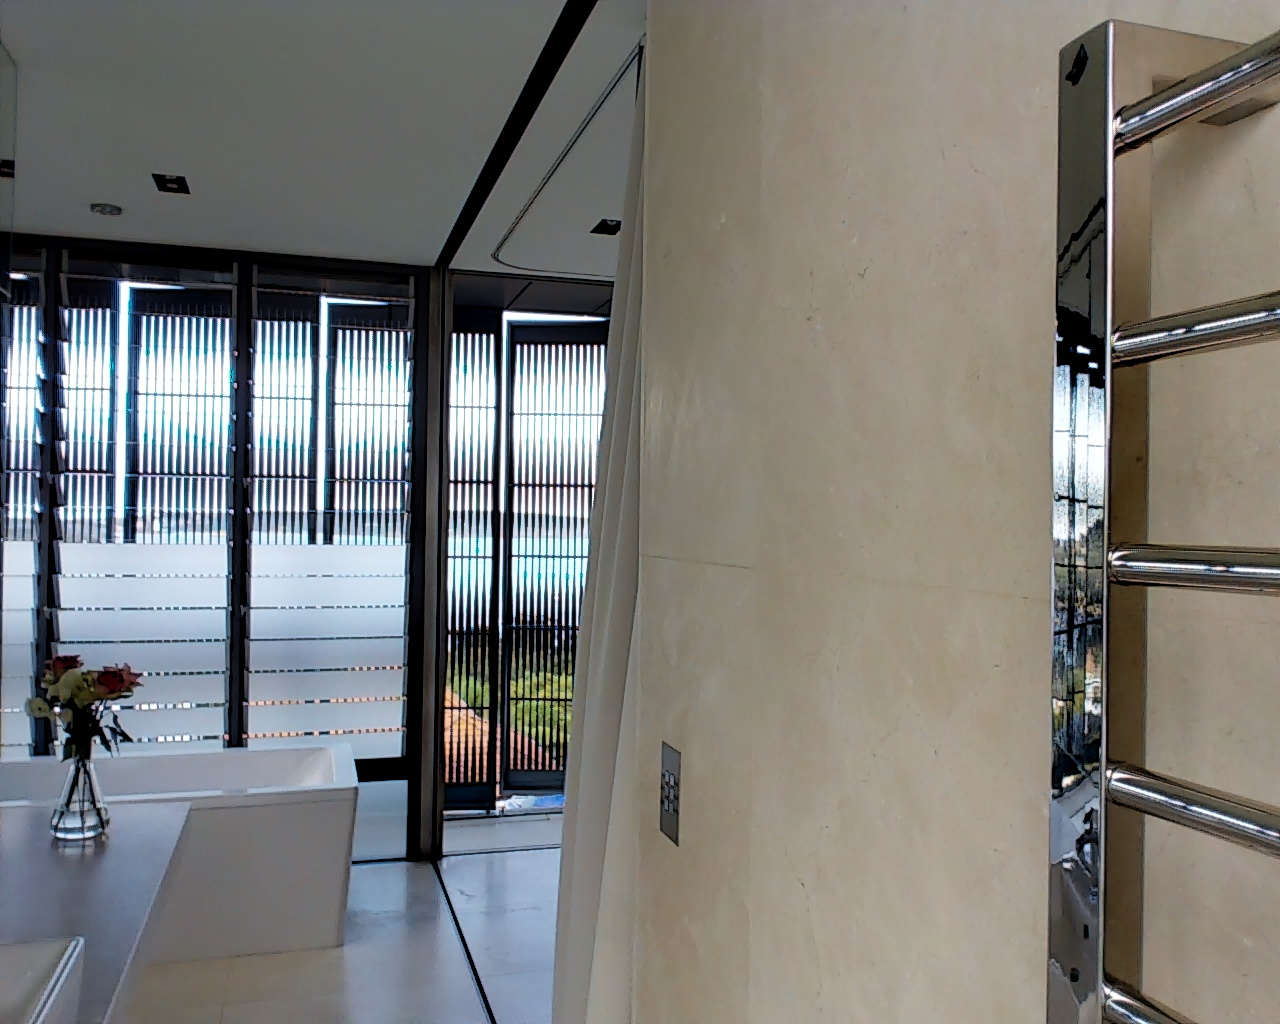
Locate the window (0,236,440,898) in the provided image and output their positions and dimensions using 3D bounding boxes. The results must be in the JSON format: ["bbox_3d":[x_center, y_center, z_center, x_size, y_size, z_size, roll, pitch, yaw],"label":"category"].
[{"bbox_3d":[-2.069,0.230,4.510,2.359,2.671,0.090,1,-1,-16],"label":"window"}]

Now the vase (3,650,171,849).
[{"bbox_3d":[-1.310,0.550,2.560,0.290,0.400,0.310,1,-1,-15],"label":"vase"}]

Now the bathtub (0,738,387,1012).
[{"bbox_3d":[-1.939,1.300,3.980,1.889,0.660,0.910,1,-1,-16],"label":"bathtub"}]
